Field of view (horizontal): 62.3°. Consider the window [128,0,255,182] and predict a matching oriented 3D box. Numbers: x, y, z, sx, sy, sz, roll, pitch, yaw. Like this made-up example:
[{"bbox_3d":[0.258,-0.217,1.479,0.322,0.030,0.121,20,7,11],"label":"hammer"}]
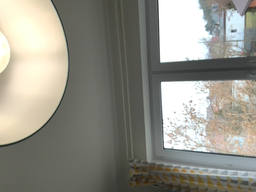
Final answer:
[{"bbox_3d":[0.760,-0.250,1.700,0.210,1.530,1.770,-12,-79,-67],"label":"window"}]
